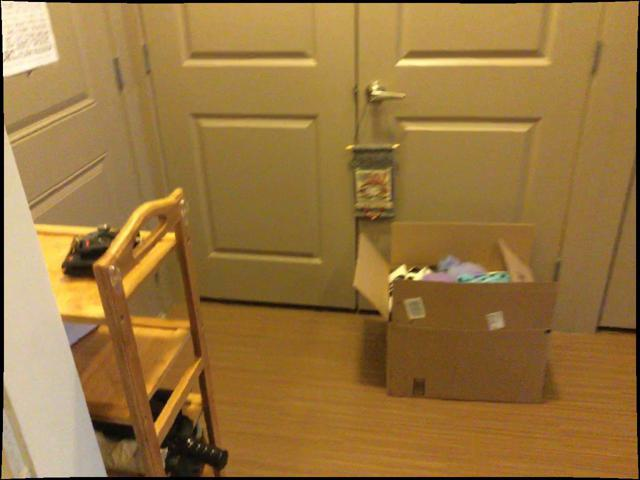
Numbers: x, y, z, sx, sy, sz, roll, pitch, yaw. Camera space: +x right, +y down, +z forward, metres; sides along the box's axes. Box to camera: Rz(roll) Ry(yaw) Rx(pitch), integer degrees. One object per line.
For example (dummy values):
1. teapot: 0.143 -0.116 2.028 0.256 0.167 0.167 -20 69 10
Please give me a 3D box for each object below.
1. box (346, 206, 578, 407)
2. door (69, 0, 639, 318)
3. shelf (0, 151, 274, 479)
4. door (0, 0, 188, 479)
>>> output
1. box: 0.449 0.211 2.000 0.658 0.501 0.460 0 29 8
2. door: 0.439 -0.692 1.760 2.434 1.974 0.300 2 29 11
3. shelf: -0.539 0.401 1.130 0.778 1.052 0.390 0 29 8
4. door: -0.778 -0.431 1.630 0.130 2.034 1.041 0 29 8
